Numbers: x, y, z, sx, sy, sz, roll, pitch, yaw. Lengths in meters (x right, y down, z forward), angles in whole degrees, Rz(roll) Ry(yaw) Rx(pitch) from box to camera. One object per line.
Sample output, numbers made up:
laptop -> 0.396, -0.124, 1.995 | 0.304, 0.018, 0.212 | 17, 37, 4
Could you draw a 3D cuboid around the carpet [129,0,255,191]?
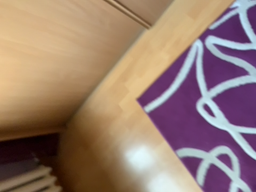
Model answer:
carpet -> 0.720, -0.150, 1.020 | 1.480, 0.050, 0.800 | -48, 67, 21
